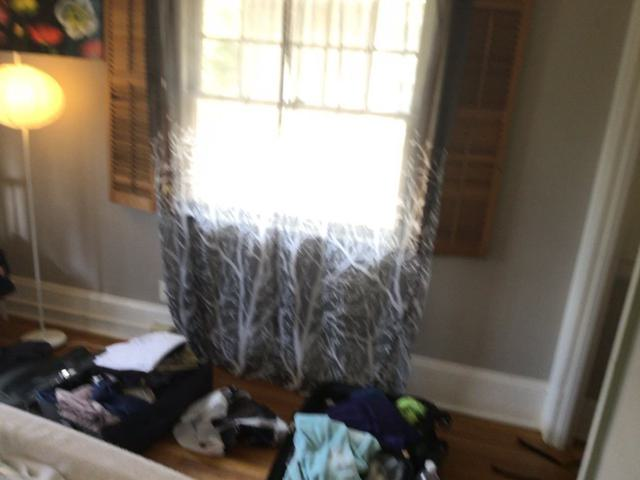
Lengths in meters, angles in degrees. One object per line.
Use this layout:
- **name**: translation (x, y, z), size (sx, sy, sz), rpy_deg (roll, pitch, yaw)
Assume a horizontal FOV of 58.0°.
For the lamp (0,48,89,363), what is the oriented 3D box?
- **lamp**: translation (-1.390, -0.160, 2.770), size (0.350, 1.430, 0.350), rpy_deg (9, 17, 12)
